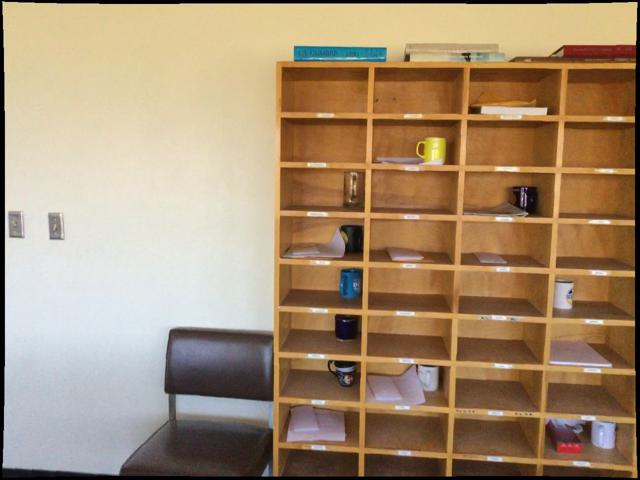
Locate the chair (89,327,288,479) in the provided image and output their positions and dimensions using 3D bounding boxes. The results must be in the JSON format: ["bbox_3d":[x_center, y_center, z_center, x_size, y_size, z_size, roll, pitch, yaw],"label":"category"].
[{"bbox_3d":[-0.459,0.802,2.240,0.559,0.772,0.570,0,9,7],"label":"chair"}]
